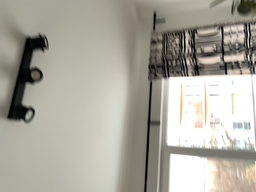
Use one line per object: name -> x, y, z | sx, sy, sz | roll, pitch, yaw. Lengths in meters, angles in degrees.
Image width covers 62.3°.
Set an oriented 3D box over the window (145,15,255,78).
window -> 1.250, -0.530, 2.190 | 0.140, 2.160, 0.580 | 34, -122, -66
